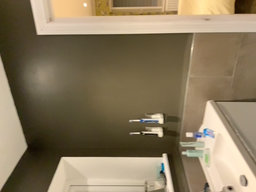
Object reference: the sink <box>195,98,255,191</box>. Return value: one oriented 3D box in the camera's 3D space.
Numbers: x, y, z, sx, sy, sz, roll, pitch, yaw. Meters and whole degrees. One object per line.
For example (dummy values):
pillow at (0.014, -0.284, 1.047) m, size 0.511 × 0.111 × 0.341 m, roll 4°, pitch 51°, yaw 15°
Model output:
sink at (0.650, 0.460, 1.230) m, size 1.010 × 0.180 × 0.460 m, roll -89°, pitch -1°, yaw -61°
